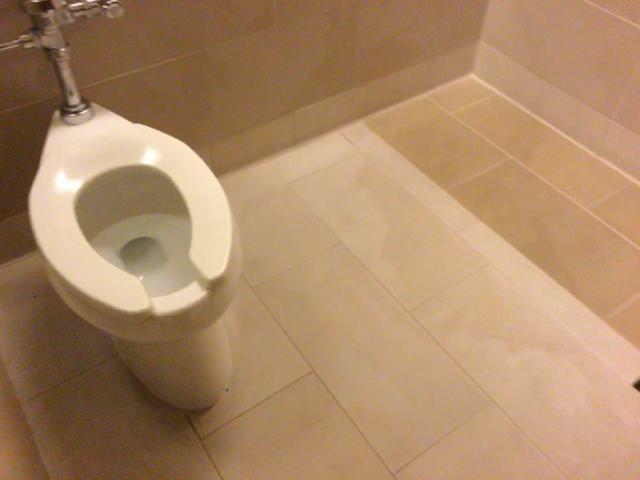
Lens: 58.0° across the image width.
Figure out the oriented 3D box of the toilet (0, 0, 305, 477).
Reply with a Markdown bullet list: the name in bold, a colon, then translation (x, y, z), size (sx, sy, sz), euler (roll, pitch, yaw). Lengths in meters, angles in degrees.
- **toilet**: translation (-0.420, -0.050, 1.240), size (0.390, 0.730, 0.740), euler (-28, 52, -23)
